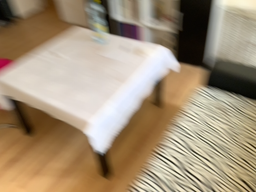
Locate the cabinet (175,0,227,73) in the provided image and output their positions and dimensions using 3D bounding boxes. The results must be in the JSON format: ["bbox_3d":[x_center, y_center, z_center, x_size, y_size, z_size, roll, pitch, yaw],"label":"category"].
[{"bbox_3d":[0.760,-0.780,2.220,0.360,1.000,0.300,22,48,27],"label":"cabinet"}]

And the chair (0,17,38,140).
[{"bbox_3d":[-1.270,-0.110,1.850,0.560,0.920,0.540,-10,41,-6],"label":"chair"}]

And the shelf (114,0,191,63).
[{"bbox_3d":[0.270,-0.990,2.500,0.840,1.000,0.280,22,48,27],"label":"shelf"}]

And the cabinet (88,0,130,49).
[{"bbox_3d":[-0.250,-1.180,2.780,0.400,1.000,0.310,22,48,27],"label":"cabinet"}]
